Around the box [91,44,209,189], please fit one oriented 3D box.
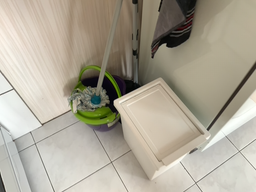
[{"bbox_3d":[0.070,0.110,1.180,0.280,0.420,0.630,-23,61,-15],"label":"box"}]
